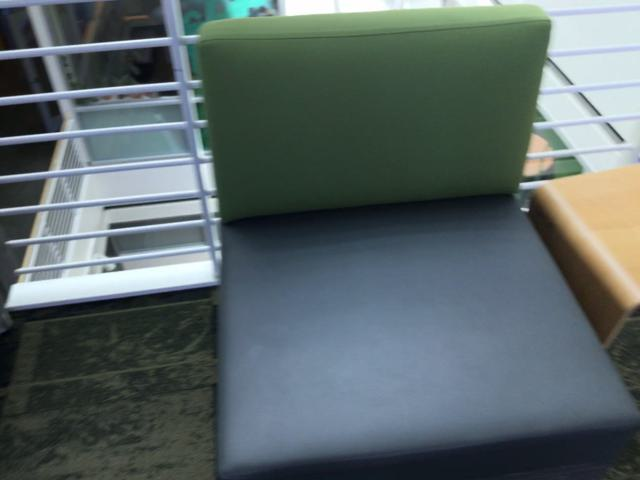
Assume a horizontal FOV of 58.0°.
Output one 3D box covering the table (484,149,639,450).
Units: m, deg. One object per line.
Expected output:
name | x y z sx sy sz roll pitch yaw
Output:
table | 0.820 0.090 1.340 0.690 0.470 0.410 -11 38 -9
